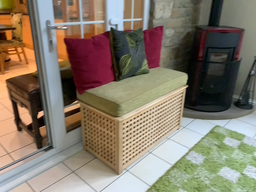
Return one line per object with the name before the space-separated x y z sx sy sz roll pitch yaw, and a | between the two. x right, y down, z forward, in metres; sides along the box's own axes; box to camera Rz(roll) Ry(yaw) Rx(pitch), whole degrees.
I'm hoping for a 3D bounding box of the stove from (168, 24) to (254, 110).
stove | 0.950 -0.380 2.670 0.670 0.920 0.630 1 23 -4
